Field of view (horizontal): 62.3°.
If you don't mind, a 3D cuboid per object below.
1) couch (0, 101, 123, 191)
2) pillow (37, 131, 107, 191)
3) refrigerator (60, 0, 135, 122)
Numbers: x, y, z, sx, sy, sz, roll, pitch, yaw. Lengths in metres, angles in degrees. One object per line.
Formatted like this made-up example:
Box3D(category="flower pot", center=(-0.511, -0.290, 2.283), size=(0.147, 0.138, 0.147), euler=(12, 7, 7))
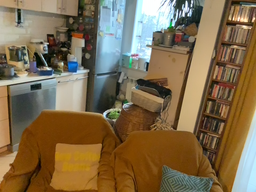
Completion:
Box3D(category="couch", center=(-0.530, 0.600, 1.660), size=(0.770, 0.790, 0.960), euler=(4, 19, -11))
Box3D(category="pillow", center=(-0.440, 0.560, 1.700), size=(0.390, 0.380, 0.120), euler=(-35, -3, -1))
Box3D(category="refrigerator", center=(-0.530, -0.740, 3.580), size=(0.730, 2.070, 0.870), euler=(18, 21, 28))
